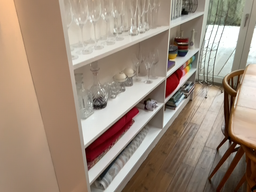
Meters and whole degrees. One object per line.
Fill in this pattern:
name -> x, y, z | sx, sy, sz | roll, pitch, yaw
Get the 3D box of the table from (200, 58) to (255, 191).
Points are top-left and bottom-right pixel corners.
table -> 1.070, 0.300, 1.510 | 0.750, 0.700, 1.350 | 14, 31, 27

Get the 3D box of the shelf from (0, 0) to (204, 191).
shelf -> 0.170, -0.490, 1.660 | 0.300, 1.980, 2.140 | 14, 31, 27
